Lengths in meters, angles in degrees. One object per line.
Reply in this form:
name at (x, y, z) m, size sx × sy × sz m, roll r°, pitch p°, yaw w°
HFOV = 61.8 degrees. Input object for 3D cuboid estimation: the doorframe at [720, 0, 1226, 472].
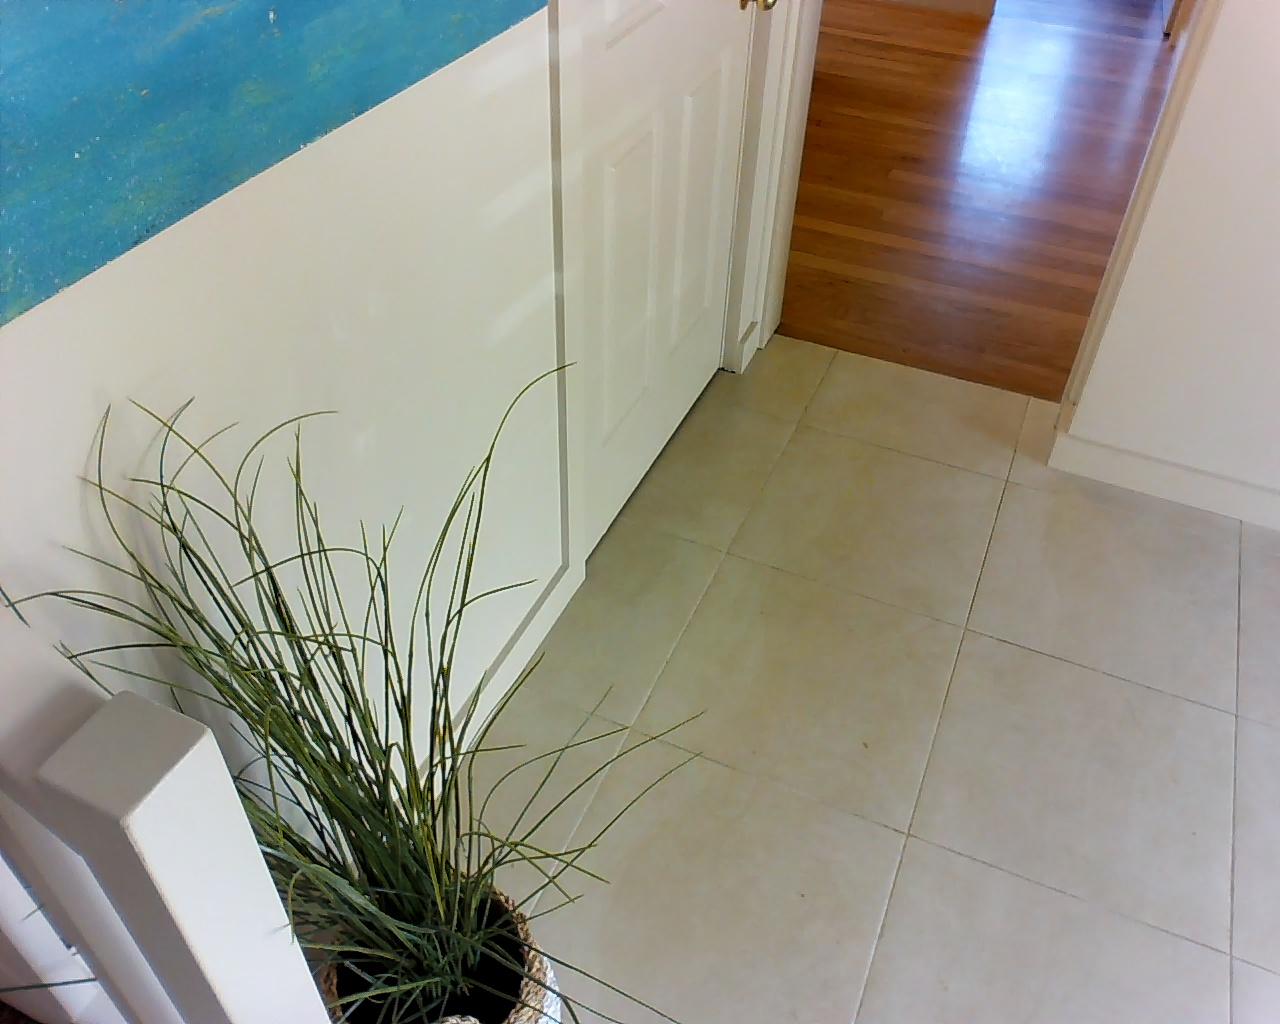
doorframe at (0.670, -1.060, 2.050) m, size 0.840 × 2.050 × 0.250 m, roll 17°, pitch 44°, yaw 17°
